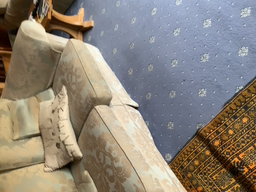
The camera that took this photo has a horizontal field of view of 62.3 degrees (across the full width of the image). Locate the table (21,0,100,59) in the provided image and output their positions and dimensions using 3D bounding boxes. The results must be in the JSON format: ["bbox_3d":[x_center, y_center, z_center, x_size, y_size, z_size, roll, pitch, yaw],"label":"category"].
[{"bbox_3d":[-0.680,-0.750,2.090,0.500,0.470,0.490,-53,53,28],"label":"table"}]

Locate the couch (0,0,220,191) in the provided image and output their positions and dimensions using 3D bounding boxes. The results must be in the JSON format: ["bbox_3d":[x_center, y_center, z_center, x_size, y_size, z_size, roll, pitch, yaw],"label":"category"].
[{"bbox_3d":[-0.500,0.350,1.500,1.170,0.910,1.940,-53,53,28],"label":"couch"}]
